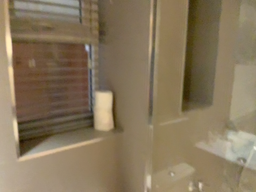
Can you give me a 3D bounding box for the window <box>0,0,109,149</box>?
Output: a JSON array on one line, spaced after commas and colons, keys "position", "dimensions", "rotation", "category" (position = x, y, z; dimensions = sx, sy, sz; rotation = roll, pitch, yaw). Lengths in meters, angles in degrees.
[{"position": [-0.380, -0.320, 1.170], "dimensions": [0.530, 1.110, 0.180], "rotation": [-7, 14, -36], "category": "window"}]
